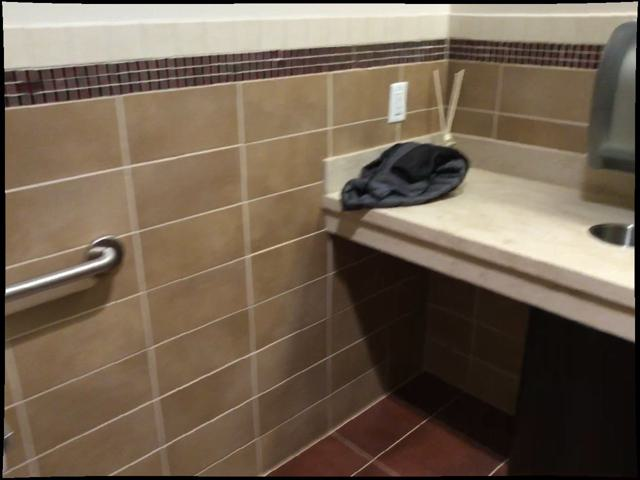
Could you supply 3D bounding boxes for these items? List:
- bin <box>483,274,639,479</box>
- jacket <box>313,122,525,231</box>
[{"bbox_3d":[0.639,0.470,1.460,0.190,0.671,0.350,-21,30,-39],"label":"bin"},{"bbox_3d":[0.300,-0.210,1.690,0.580,0.140,0.310,-21,30,-39],"label":"jacket"}]
